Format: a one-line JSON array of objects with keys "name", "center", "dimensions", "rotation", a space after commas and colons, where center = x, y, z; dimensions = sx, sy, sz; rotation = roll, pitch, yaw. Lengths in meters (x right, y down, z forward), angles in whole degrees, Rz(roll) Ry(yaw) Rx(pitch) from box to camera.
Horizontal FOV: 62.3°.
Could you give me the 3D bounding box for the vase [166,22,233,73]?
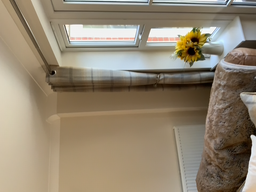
[{"name": "vase", "center": [0.620, -0.430, 1.920], "dimensions": [0.330, 0.420, 0.320], "rotation": [107, 159, -69]}]
